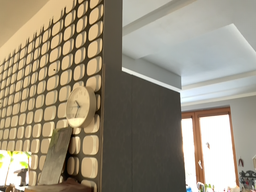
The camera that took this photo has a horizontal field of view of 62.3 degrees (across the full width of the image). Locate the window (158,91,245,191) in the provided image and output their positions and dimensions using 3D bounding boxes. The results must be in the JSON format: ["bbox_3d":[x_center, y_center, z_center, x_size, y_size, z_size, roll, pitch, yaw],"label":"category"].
[{"bbox_3d":[1.260,0.940,3.950,0.350,1.790,1.420,13,-19,-42],"label":"window"}]
